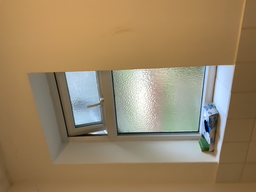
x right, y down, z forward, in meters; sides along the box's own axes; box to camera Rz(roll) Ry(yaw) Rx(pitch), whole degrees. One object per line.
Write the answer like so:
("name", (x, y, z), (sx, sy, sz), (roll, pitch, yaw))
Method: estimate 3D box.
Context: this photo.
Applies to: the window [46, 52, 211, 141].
("window", (0.010, 0.030, 1.420), (0.050, 0.990, 0.600), (-85, -7, -65))
